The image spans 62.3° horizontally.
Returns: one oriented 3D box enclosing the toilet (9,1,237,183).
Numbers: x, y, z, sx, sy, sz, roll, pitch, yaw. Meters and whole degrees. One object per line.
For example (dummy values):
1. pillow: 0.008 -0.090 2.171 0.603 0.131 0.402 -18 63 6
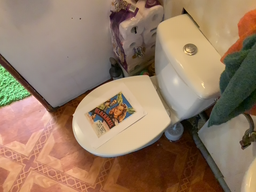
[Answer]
1. toilet: -0.020 0.070 1.060 0.680 0.740 0.410 -22 65 -7
